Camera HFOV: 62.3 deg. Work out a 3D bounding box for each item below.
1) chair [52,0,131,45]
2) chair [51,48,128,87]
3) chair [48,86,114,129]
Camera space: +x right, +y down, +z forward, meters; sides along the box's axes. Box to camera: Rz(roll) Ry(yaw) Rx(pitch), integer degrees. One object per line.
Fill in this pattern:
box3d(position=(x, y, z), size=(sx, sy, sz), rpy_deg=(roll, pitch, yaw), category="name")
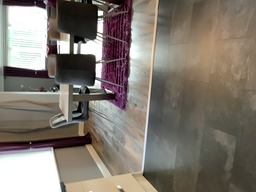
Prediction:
box3d(position=(-0.490, -0.960, 2.770), size=(0.550, 0.890, 0.420), rpy_deg=(-165, 77, -65), category="chair")
box3d(position=(-0.530, -0.360, 2.840), size=(0.490, 0.910, 0.420), rpy_deg=(-165, 77, -65), category="chair")
box3d(position=(-0.740, 0.150, 3.300), size=(0.430, 0.910, 0.550), rpy_deg=(-155, 68, -63), category="chair")
